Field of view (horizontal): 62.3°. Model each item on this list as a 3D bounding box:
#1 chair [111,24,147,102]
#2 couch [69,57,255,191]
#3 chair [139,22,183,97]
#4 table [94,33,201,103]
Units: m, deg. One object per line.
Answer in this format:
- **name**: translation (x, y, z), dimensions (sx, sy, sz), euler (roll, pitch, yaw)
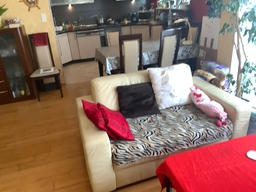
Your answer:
- **chair**: translation (0.020, -0.520, 3.270), dimensions (0.380, 1.040, 0.550), euler (-8, 25, -9)
- **couch**: translation (0.270, 0.180, 2.100), dimensions (1.480, 0.730, 0.950), euler (-11, 26, -15)
- **chair**: translation (0.510, -0.600, 3.370), dimensions (0.380, 1.030, 0.560), euler (-18, 28, -27)
- **table**: translation (0.300, -0.550, 3.630), dimensions (1.520, 0.760, 0.870), euler (-11, 26, -15)
